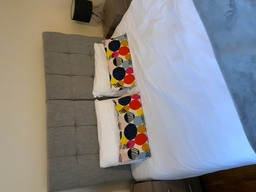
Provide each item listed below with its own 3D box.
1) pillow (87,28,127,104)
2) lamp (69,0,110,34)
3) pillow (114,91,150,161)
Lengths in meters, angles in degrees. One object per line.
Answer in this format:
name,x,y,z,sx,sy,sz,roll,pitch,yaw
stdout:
pillow,-0.220,-0.300,2.170,0.180,0.340,0.680,-22,64,33
lamp,-0.470,-0.980,2.530,0.320,0.390,0.280,133,132,-55
pillow,0.030,0.260,1.810,0.130,0.260,0.540,-19,64,21
